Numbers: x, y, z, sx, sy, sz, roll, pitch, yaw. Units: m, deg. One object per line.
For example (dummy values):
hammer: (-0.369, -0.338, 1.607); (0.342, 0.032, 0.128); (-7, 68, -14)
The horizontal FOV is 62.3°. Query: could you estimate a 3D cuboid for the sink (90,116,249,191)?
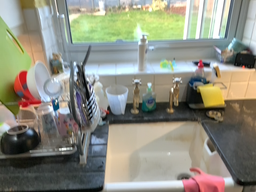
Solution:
sink: (0.150, 0.340, 1.040); (0.590, 0.260, 0.450); (-2, 28, -1)
